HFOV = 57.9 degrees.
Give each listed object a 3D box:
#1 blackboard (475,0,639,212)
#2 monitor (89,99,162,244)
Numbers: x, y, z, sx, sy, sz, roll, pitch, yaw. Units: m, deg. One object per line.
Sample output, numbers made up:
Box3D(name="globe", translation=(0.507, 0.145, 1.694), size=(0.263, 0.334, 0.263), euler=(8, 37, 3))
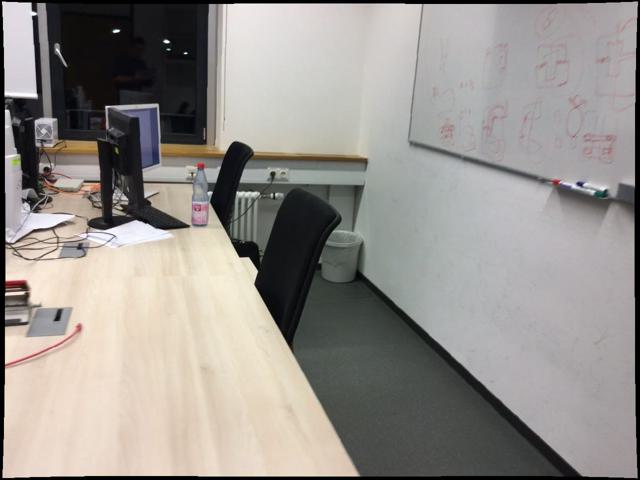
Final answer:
Box3D(name="blackboard", translation=(0.979, -0.681, 2.170), size=(0.110, 0.951, 1.070), euler=(-1, 17, -17))
Box3D(name="monitor", translation=(-0.869, -0.330, 2.550), size=(0.180, 0.510, 0.680), euler=(-4, 18, -28))
